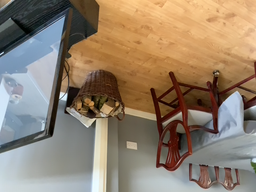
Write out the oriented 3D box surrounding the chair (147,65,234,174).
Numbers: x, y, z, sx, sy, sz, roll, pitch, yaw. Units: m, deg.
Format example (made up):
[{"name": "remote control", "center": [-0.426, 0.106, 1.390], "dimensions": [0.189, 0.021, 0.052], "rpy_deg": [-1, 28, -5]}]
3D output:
[{"name": "chair", "center": [0.590, 0.250, 2.210], "dimensions": [0.520, 0.950, 0.470], "rpy_deg": [14, 144, -25]}]
